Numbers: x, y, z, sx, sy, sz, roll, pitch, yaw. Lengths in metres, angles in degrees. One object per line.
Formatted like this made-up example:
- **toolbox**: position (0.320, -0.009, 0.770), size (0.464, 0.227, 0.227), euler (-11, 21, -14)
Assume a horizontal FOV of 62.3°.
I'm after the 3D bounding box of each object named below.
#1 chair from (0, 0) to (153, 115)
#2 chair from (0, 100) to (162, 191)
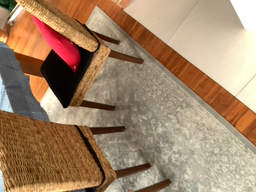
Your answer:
- **chair**: position (-0.420, -0.290, 1.500), size (0.590, 1.010, 0.500), euler (-52, 55, 19)
- **chair**: position (-0.360, 0.450, 1.310), size (0.560, 1.000, 0.470), euler (-51, 55, 19)
